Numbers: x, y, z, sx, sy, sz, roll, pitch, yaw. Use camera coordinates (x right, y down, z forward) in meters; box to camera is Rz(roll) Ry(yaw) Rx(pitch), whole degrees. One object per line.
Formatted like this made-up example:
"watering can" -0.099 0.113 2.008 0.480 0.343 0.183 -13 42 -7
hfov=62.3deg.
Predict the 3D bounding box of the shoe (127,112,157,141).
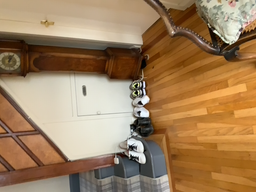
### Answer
"shoe" 0.140 0.330 2.260 0.290 0.170 0.250 -31 64 59

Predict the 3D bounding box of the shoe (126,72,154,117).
"shoe" 0.120 -0.010 2.350 0.290 0.120 0.430 -30 64 59
